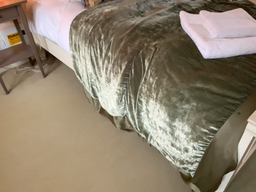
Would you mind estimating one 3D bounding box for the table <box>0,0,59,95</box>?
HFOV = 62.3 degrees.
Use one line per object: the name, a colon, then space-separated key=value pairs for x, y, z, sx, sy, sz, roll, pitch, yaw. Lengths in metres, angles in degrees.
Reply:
table: x=-1.020 y=-0.490 z=1.850 sx=0.490 sy=0.690 sz=0.450 roll=-33 pitch=50 yaw=-29
